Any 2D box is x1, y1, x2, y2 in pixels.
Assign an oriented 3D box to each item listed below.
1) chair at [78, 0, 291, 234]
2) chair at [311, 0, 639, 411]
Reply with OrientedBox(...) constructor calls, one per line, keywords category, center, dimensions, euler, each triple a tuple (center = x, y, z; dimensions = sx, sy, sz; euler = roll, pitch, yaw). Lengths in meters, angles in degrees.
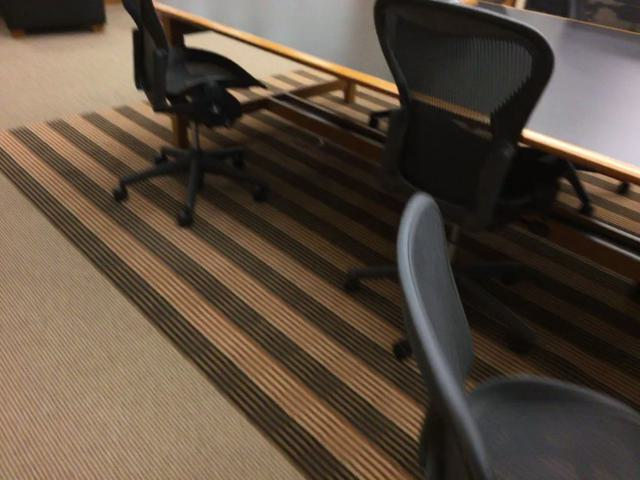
OrientedBox(category="chair", center=(-0.550, -0.680, 2.430), dimensions=(0.620, 1.040, 0.550), euler=(-23, 41, -37))
OrientedBox(category="chair", center=(0.480, -0.210, 1.790), dimensions=(0.670, 1.060, 0.690), euler=(-23, 41, -37))
